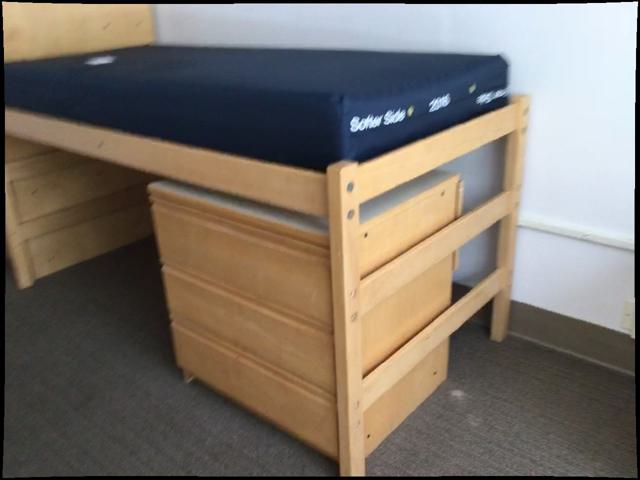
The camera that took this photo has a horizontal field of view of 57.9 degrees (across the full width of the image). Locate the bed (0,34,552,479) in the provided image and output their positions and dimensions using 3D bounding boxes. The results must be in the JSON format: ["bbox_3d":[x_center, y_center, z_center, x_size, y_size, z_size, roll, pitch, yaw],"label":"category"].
[{"bbox_3d":[-0.390,-0.210,2.360,2.139,1.061,1.060,18,31,38],"label":"bed"}]
